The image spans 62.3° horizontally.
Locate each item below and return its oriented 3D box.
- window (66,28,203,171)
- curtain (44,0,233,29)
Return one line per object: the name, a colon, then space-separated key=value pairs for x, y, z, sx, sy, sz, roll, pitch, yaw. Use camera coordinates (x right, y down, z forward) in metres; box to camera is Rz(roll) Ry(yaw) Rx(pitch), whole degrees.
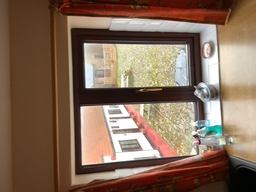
window: x=0.050 y=0.000 z=1.370 sx=0.120 sy=0.830 sz=0.830 roll=169 pitch=99 yaw=-78
curtain: x=0.070 y=-0.490 z=1.130 sx=0.200 sy=0.950 sz=0.180 roll=171 pitch=96 yaw=-78
